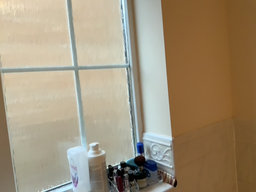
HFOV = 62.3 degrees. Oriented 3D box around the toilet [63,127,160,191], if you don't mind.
[{"bbox_3d":[-0.060,0.270,0.830,0.320,0.210,0.170,-8,6,-32],"label":"toilet"}]
